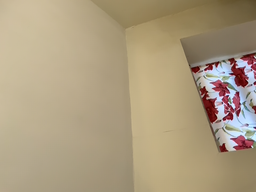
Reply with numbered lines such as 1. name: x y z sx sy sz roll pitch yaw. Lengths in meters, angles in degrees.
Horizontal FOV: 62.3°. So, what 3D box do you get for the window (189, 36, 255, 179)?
1. window: 0.890 0.020 1.600 0.220 0.600 1.040 66 -165 -51
